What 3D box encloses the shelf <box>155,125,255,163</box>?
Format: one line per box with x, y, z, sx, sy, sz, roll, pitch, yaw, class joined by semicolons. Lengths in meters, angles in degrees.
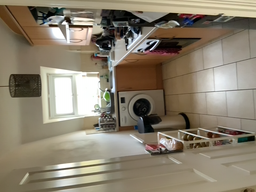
0.730;0.440;2.110;0.620;0.740;0.190;170;97;-76;shelf
